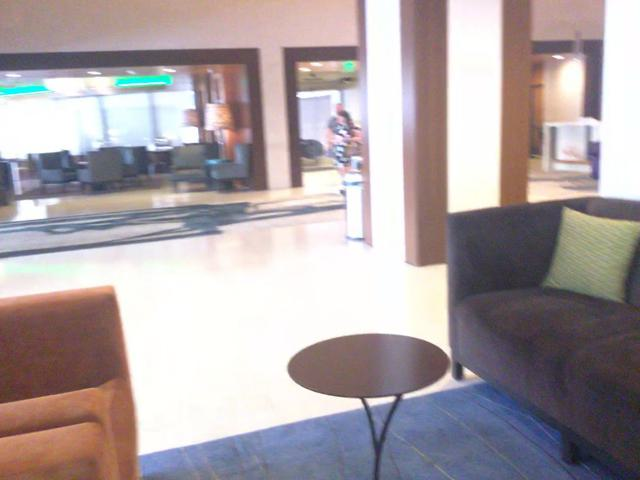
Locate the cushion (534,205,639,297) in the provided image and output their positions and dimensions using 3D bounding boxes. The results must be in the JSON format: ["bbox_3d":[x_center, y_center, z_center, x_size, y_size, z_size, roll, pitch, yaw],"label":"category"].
[{"bbox_3d":[1.150,0.030,2.450,0.200,0.340,0.410,-9,8,-37],"label":"cushion"}]

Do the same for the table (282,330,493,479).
[{"bbox_3d":[0.180,0.600,1.730,0.490,0.510,0.440,-5,7,-12],"label":"table"}]

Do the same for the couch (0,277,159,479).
[{"bbox_3d":[-0.890,0.630,1.520,0.820,0.830,1.040,-5,7,-14],"label":"couch"}]
